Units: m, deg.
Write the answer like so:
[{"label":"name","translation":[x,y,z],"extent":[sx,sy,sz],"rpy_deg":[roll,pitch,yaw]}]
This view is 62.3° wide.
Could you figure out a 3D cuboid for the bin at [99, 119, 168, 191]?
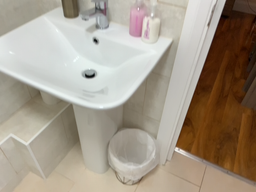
[{"label":"bin","translation":[0.030,0.360,1.230],"extent":[0.280,0.260,0.260],"rpy_deg":[24,47,19]}]

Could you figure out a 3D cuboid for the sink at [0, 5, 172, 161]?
[{"label":"sink","translation":[-0.200,-0.110,0.820],"extent":[0.580,0.210,0.440],"rpy_deg":[23,47,18]}]
